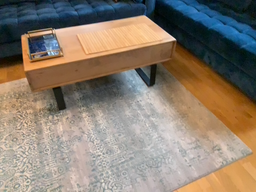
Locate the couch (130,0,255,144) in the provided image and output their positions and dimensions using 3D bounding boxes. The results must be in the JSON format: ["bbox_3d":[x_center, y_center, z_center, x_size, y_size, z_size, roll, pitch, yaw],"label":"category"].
[{"bbox_3d":[0.990,-0.840,2.190,1.080,0.920,2.430,-15,44,-17],"label":"couch"}]
